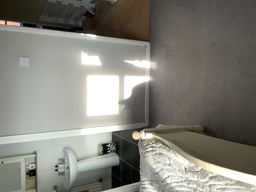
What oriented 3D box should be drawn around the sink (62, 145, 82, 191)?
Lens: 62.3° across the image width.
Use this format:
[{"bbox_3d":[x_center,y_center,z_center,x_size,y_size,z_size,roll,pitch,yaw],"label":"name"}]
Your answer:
[{"bbox_3d":[-0.830,1.100,3.120,0.390,0.190,0.630,5,95,60],"label":"sink"}]
